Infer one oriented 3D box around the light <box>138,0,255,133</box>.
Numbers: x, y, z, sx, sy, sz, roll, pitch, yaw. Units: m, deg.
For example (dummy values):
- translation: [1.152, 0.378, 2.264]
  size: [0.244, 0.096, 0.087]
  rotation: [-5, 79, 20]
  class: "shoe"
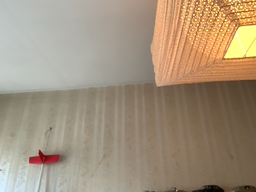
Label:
- translation: [0.410, -0.370, 0.810]
  size: [0.820, 0.730, 0.600]
  rotation: [-87, 175, -58]
  class: "light"
